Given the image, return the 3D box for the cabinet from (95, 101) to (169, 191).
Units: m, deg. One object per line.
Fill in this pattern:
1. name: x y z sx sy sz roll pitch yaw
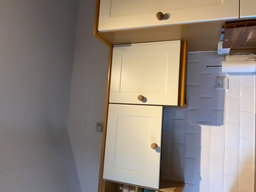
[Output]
1. cabinet: 0.050 0.380 1.770 0.330 0.490 0.620 19 -106 -68
